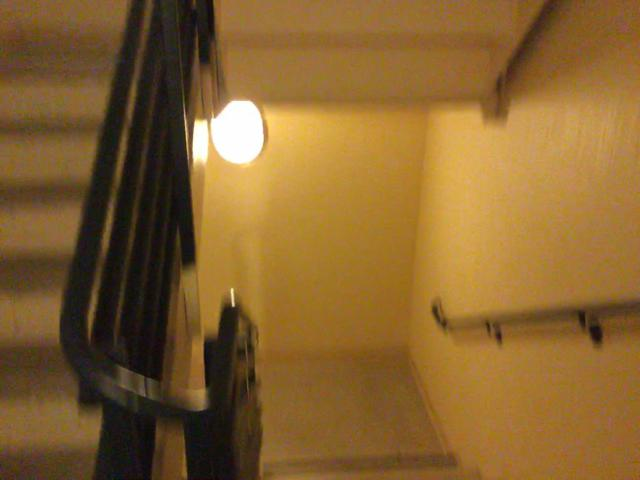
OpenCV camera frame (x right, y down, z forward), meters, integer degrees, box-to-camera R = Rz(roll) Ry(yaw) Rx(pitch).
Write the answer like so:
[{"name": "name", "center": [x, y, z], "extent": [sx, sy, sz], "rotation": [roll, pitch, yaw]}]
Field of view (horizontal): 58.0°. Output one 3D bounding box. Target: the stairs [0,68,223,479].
[{"name": "stairs", "center": [-0.960, 0.190, 1.710], "extent": [1.170, 1.030, 1.900], "rotation": [-2, 27, -5]}]

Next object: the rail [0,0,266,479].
[{"name": "rail", "center": [-0.330, 0.020, 1.580], "extent": [0.320, 1.780, 1.830], "rotation": [-2, 27, -5]}]
